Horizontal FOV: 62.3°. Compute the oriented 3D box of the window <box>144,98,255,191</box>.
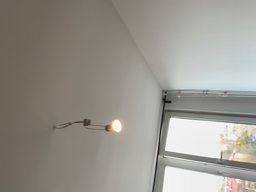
[{"bbox_3d":[1.190,0.900,2.730,0.200,1.870,1.700,43,-127,-62],"label":"window"}]
